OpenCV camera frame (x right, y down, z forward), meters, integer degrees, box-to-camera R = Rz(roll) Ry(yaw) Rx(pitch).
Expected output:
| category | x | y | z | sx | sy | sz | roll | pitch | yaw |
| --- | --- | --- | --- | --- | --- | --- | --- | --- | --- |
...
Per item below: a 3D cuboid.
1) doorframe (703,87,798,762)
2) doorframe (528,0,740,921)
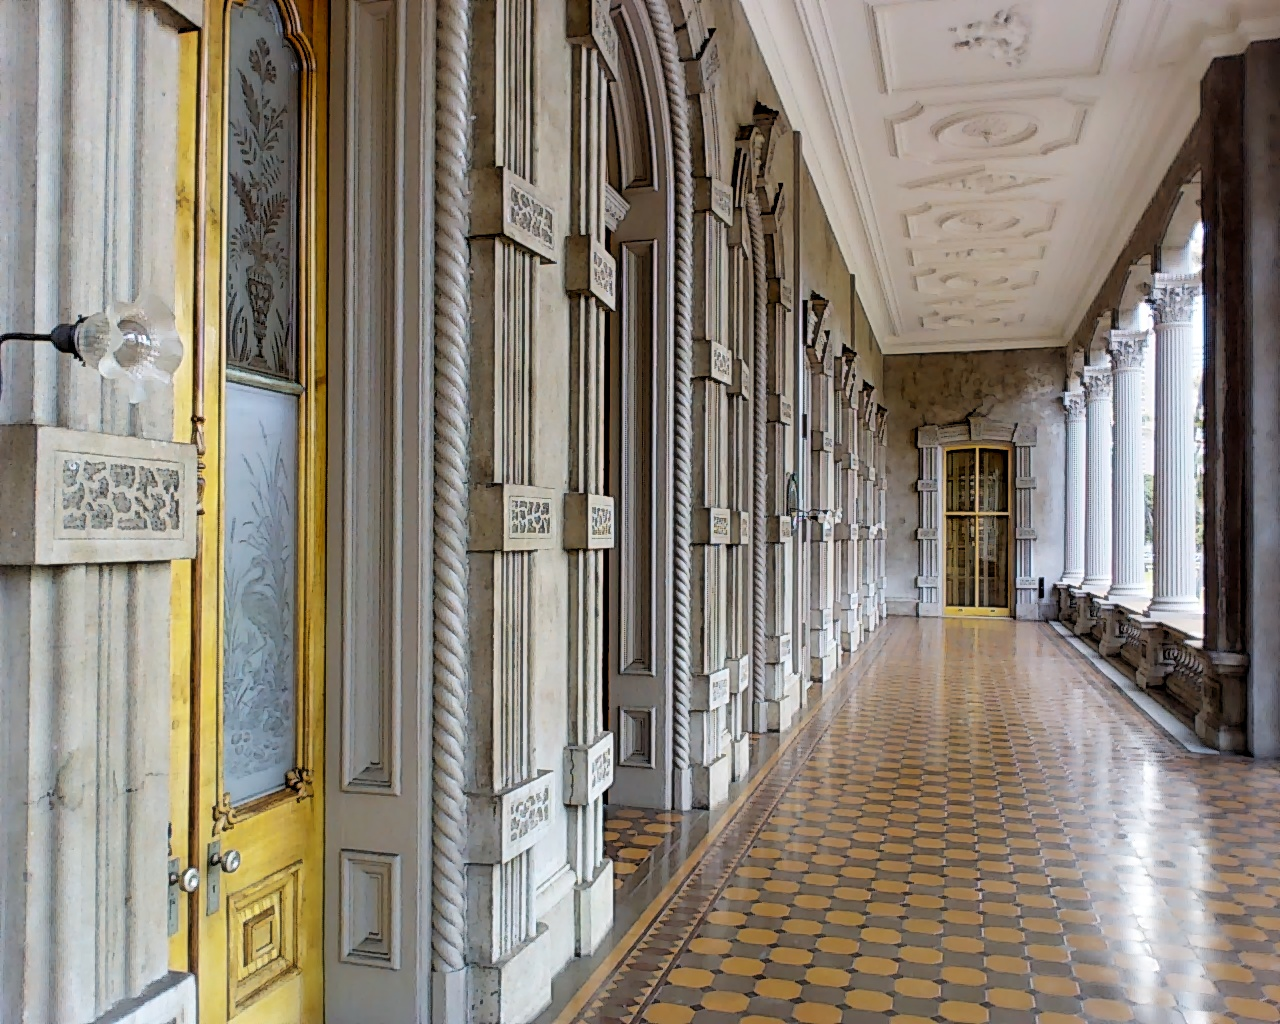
| category | x | y | z | sx | sy | sz | roll | pitch | yaw |
| --- | --- | --- | --- | --- | --- | --- | --- | --- | --- |
| doorframe | 0.860 | -0.560 | 7.970 | 0.350 | 4.381 | 2.000 | 0 | -1 | 15 |
| doorframe | 0.080 | -0.710 | 5.300 | 0.390 | 4.571 | 2.340 | 0 | -1 | 15 |
